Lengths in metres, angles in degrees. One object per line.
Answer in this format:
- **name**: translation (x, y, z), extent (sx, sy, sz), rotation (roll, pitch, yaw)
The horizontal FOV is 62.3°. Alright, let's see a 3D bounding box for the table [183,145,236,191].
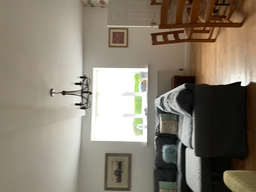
- **table**: translation (1.160, 1.090, 3.140), extent (0.860, 0.450, 0.580), rotation (90, -179, -87)

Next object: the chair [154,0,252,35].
- **chair**: translation (0.890, -1.160, 2.730), extent (0.590, 1.020, 0.490), rotation (-89, 0, -47)
